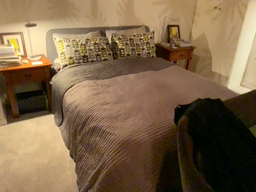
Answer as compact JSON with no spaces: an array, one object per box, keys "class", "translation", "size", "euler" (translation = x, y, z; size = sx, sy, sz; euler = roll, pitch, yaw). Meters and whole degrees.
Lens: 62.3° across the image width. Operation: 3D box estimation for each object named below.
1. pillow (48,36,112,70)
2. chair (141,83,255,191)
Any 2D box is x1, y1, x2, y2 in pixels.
[{"class":"pillow","translation":[-0.610,-0.580,2.740],"size":[0.680,0.260,0.460],"euler":[-12,31,-27]},{"class":"chair","translation":[0.820,0.470,1.510],"size":[1.320,0.840,0.580],"euler":[-13,31,-28]}]
